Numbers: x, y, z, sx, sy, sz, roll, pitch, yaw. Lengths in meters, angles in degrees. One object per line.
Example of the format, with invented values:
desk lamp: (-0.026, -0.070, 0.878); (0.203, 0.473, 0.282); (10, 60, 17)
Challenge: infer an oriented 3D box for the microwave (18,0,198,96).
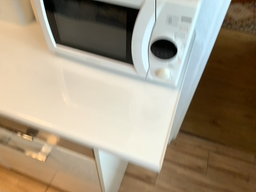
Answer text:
microwave: (-0.030, -0.280, 0.730); (0.480, 0.260, 0.360); (16, 51, 10)
